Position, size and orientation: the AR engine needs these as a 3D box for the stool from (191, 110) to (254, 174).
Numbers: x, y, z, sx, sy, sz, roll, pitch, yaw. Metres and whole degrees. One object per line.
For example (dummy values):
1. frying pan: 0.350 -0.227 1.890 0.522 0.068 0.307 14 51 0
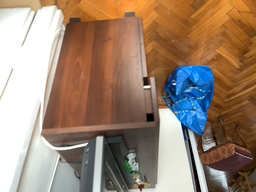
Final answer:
1. stool: 0.960 0.490 2.220 0.370 0.490 0.350 22 138 -29
